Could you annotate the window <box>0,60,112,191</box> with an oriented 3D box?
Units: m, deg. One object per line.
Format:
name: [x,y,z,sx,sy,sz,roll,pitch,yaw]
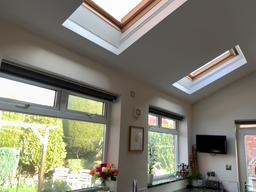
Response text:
window: [-0.860,0.460,2.240,0.220,1.330,1.670,-7,-16,38]
